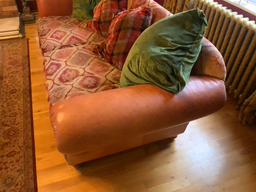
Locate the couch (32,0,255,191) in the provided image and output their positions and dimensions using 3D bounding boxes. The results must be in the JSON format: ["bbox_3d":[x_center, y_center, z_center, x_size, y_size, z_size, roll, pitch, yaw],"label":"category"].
[{"bbox_3d":[-0.270,-0.550,2.150,1.120,0.820,2.620,-11,44,-16],"label":"couch"}]
